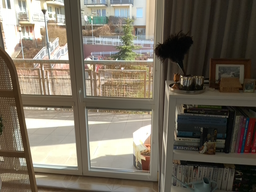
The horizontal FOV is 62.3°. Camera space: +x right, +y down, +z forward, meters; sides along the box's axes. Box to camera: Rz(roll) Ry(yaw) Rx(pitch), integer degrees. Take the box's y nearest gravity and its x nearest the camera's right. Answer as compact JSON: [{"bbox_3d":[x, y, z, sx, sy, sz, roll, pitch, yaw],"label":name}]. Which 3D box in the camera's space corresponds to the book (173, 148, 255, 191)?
[{"bbox_3d":[0.840,0.570,1.520,0.990,0.200,0.220,3,17,10],"label":"book"}]

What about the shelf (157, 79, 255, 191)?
[{"bbox_3d":[0.850,0.610,1.550,1.210,1.380,0.400,2,17,5],"label":"shelf"}]
